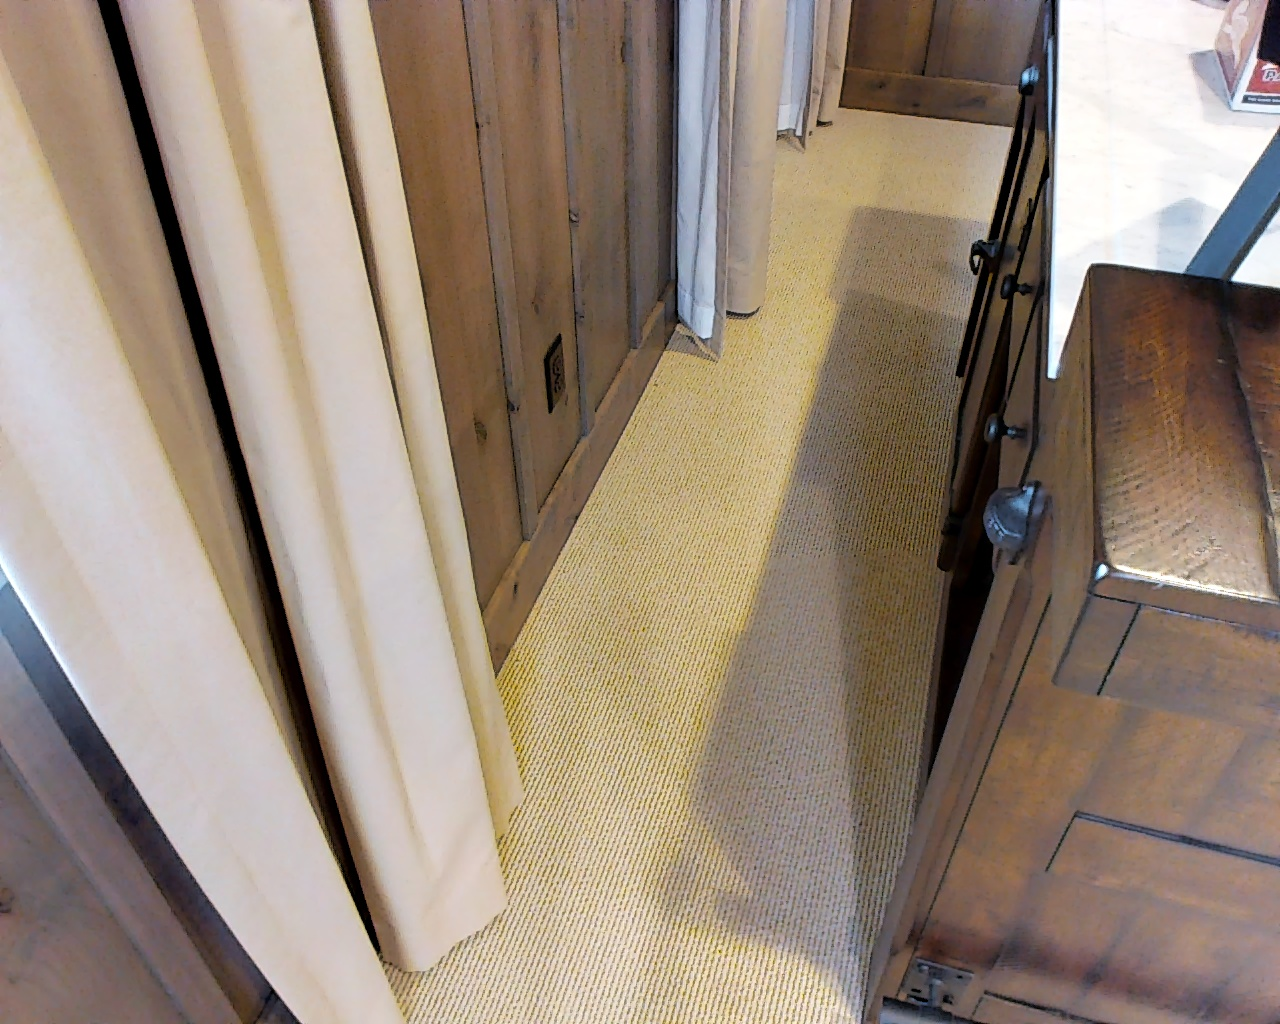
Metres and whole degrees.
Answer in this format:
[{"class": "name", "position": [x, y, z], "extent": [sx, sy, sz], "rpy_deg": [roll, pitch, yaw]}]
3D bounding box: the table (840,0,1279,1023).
[{"class": "table", "position": [0.900, -0.160, 1.480], "extent": [0.880, 1.040, 1.950], "rpy_deg": [11, 44, 12]}]

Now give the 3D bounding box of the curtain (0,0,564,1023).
[{"class": "curtain", "position": [-0.290, -0.440, 0.560], "extent": [0.190, 2.690, 0.510], "rpy_deg": [11, 44, 12]}]
